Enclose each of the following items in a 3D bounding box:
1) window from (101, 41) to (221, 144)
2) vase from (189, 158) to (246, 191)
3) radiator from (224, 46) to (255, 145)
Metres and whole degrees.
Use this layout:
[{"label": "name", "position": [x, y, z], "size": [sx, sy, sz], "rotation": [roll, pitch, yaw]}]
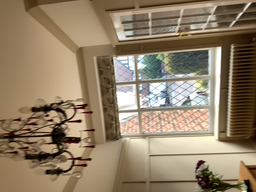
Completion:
[{"label": "window", "position": [0.570, -0.020, 3.640], "size": [0.190, 1.900, 1.650], "rotation": [-70, -24, -77]}, {"label": "vase", "position": [0.910, 0.940, 2.250], "size": [0.380, 0.440, 0.390], "rotation": [-79, -15, -69]}, {"label": "radiator", "position": [1.770, 0.010, 3.230], "size": [0.160, 0.490, 1.490], "rotation": [-71, -23, -77]}]
